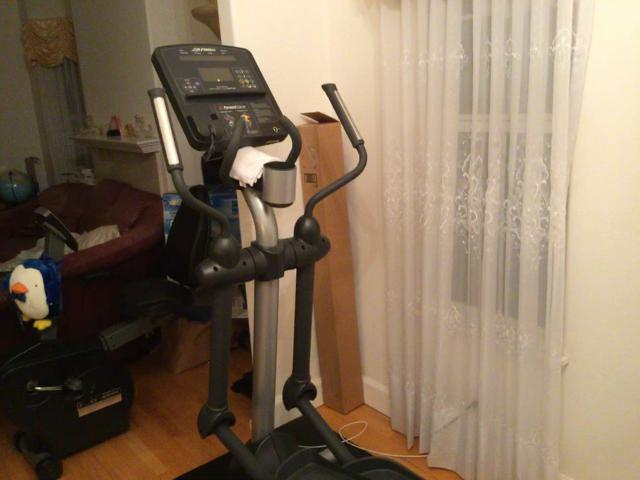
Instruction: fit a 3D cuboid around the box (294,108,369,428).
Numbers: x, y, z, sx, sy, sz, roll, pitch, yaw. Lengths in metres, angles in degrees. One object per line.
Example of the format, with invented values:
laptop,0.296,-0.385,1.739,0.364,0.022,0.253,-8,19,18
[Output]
box,0.060,0.130,2.560,0.160,1.380,0.210,7,15,44
